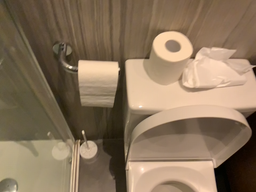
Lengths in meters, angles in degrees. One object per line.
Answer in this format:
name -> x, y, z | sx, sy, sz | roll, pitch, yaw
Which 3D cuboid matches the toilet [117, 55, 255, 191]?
toilet -> 0.190, 0.350, 0.840 | 0.420, 0.810, 0.630 | -1, 61, -5
